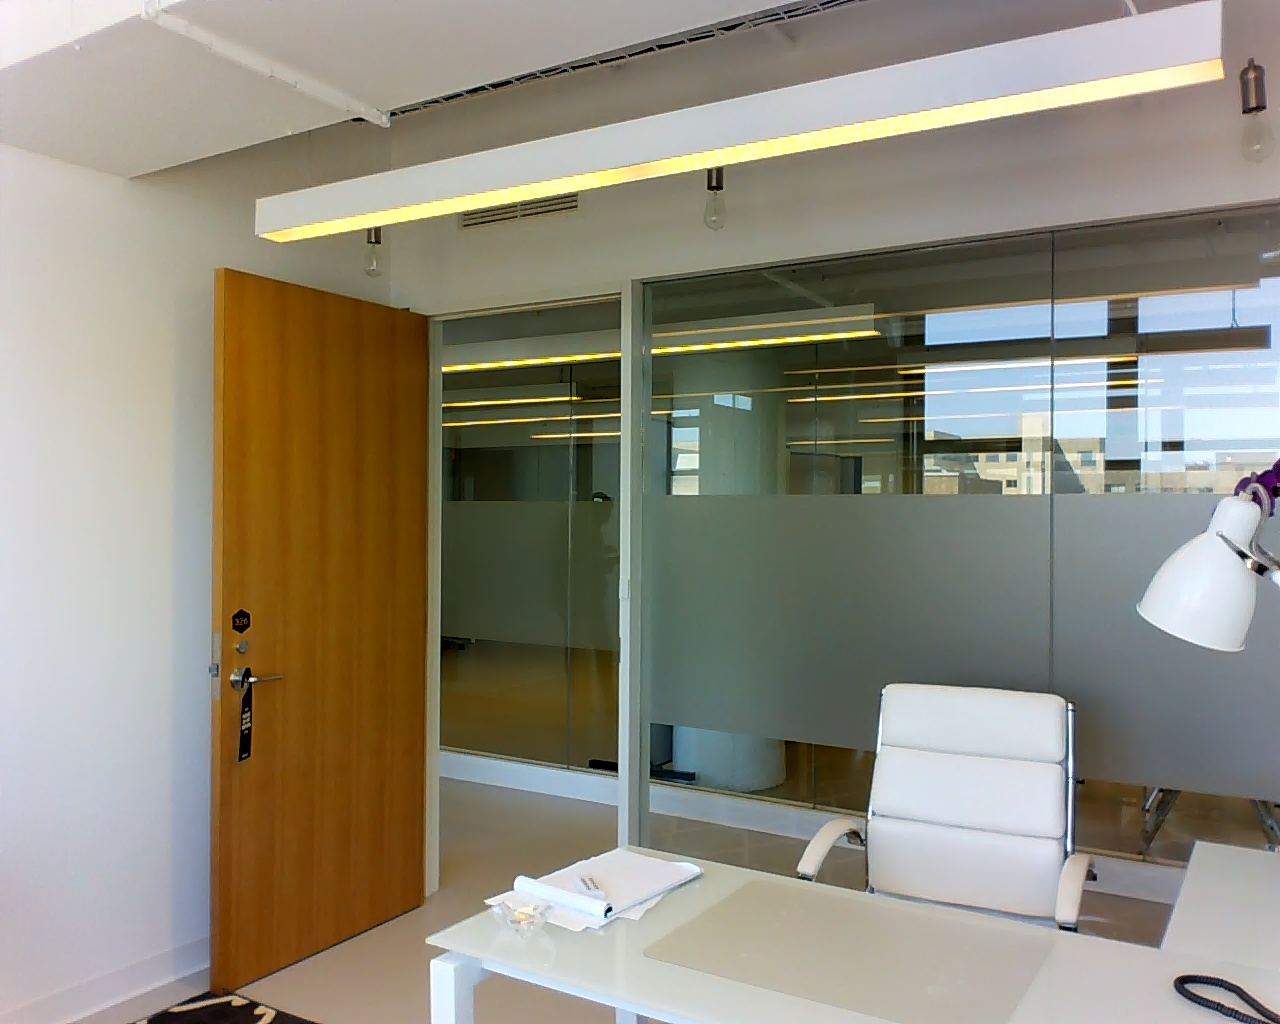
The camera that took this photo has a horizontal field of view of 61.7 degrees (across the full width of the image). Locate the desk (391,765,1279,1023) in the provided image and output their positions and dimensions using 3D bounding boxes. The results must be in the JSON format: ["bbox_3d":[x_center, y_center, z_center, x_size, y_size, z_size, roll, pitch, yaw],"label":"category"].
[{"bbox_3d":[0.620,1.080,1.940,1.600,0.790,1.350,0,-1,31],"label":"desk"}]

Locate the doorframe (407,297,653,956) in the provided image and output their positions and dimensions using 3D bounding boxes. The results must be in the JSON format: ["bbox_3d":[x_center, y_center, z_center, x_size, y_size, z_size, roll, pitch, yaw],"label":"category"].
[{"bbox_3d":[-0.420,0.380,3.910,0.960,2.200,0.190,0,-1,31],"label":"doorframe"}]
